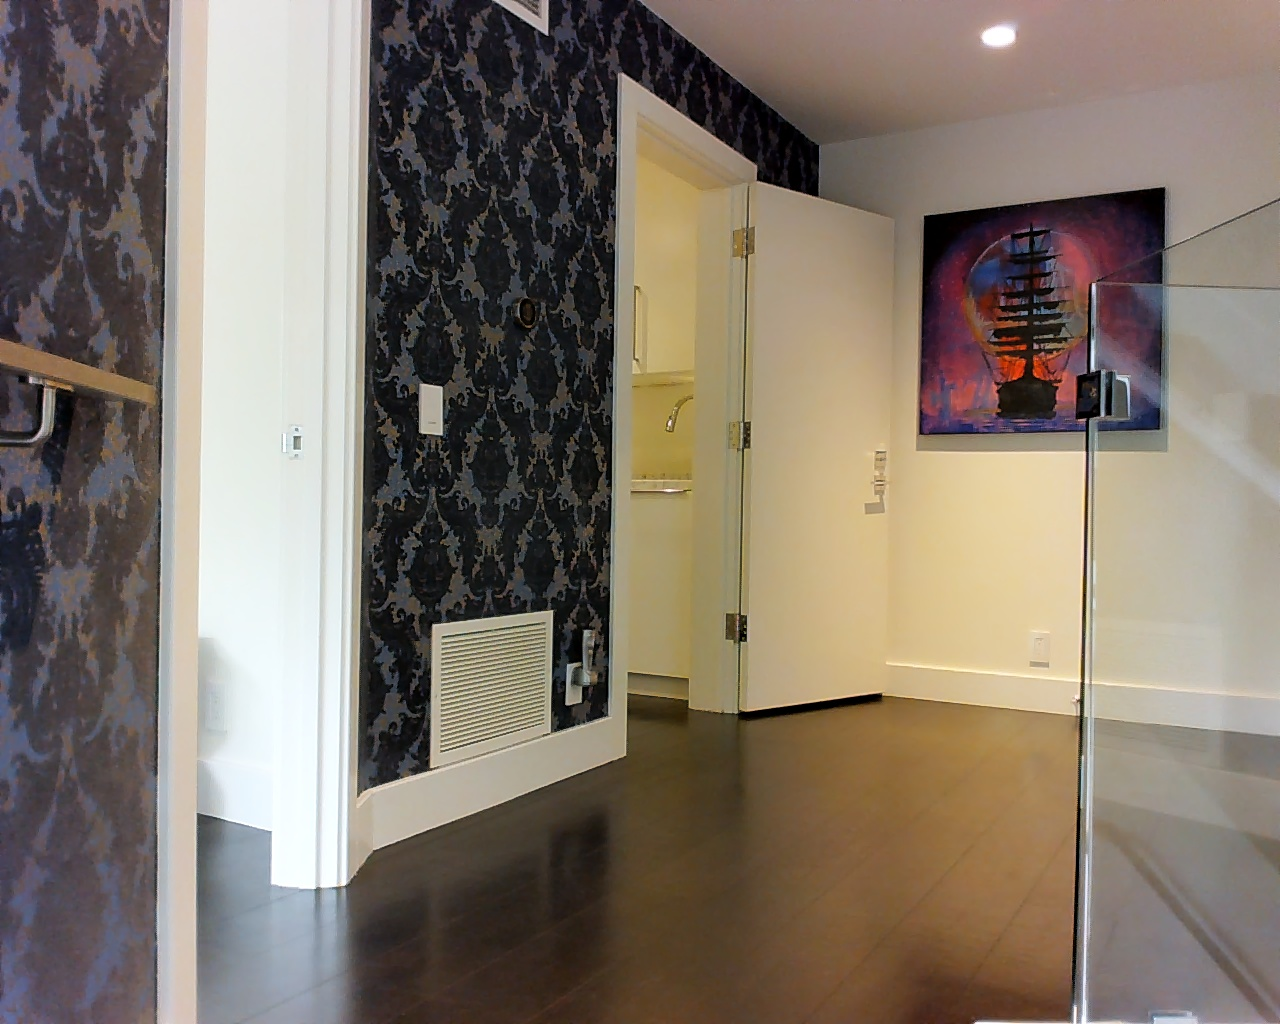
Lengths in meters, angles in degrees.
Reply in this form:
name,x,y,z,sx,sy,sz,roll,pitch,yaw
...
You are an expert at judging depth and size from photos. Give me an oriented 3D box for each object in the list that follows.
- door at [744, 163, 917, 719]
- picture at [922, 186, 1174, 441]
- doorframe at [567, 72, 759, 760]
name,x,y,z,sx,sy,sz,roll,pitch,yaw
door,0.790,-0.260,4.340,0.900,2.100,0.040,1,0,-37
picture,1.600,-0.760,4.280,0.930,0.940,0.030,1,0,32
doorframe,0.110,-0.300,3.820,0.240,2.170,0.870,1,0,31
